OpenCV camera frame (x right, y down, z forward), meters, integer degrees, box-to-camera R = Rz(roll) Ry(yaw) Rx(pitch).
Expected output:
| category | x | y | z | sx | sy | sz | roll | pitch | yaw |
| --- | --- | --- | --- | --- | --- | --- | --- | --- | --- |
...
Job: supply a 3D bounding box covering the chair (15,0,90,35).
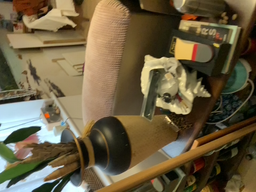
| category | x | y | z | sx | sy | sz | roll | pitch | yaw |
| --- | --- | --- | --- | --- | --- | --- | --- | --- | --- |
| chair | -1.100 | -1.320 | 3.030 | 0.680 | 0.780 | 0.640 | -11 | 89 | 54 |
